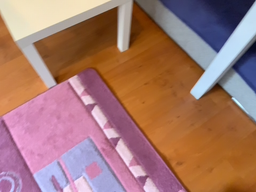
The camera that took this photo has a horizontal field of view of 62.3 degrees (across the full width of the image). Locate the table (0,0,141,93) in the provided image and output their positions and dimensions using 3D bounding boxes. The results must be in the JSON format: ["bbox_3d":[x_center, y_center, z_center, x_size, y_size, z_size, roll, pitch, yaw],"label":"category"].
[{"bbox_3d":[-0.360,-0.490,1.190,0.600,0.480,0.600,-29,72,-14],"label":"table"}]
